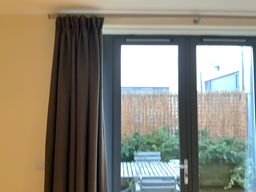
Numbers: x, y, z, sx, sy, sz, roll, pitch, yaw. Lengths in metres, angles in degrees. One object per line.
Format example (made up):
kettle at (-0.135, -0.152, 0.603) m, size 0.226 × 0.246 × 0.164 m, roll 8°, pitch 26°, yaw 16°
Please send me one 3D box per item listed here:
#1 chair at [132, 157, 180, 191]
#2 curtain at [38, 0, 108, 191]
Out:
chair at (0.370, 1.400, 3.070) m, size 0.590 × 0.850 × 0.630 m, roll 0°, pitch -2°, yaw -3°
curtain at (-0.390, 0.490, 1.600) m, size 0.450 × 2.400 × 0.290 m, roll 0°, pitch -2°, yaw -2°
